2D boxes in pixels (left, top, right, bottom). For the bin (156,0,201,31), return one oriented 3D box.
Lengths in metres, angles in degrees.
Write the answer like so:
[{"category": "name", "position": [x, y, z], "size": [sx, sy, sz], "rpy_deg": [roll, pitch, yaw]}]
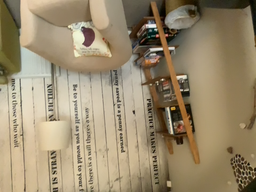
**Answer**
[{"category": "bin", "position": [0.500, -0.910, 2.170], "size": [0.280, 0.350, 0.350], "rpy_deg": [-3, 175, -16]}]
